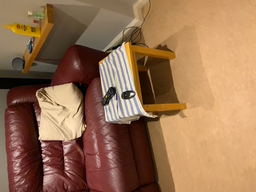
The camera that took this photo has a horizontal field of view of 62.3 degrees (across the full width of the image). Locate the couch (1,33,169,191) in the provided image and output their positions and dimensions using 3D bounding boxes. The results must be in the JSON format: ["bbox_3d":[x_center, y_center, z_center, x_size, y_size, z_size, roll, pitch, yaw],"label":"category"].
[{"bbox_3d":[-0.390,0.780,1.740,1.070,0.920,2.110,-26,70,49],"label":"couch"}]

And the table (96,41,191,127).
[{"bbox_3d":[0.100,-0.060,1.490,0.370,0.460,0.450,-26,70,49],"label":"table"}]

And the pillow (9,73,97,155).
[{"bbox_3d":[-0.620,0.140,1.810,0.470,0.500,0.160,47,152,5],"label":"pillow"}]
